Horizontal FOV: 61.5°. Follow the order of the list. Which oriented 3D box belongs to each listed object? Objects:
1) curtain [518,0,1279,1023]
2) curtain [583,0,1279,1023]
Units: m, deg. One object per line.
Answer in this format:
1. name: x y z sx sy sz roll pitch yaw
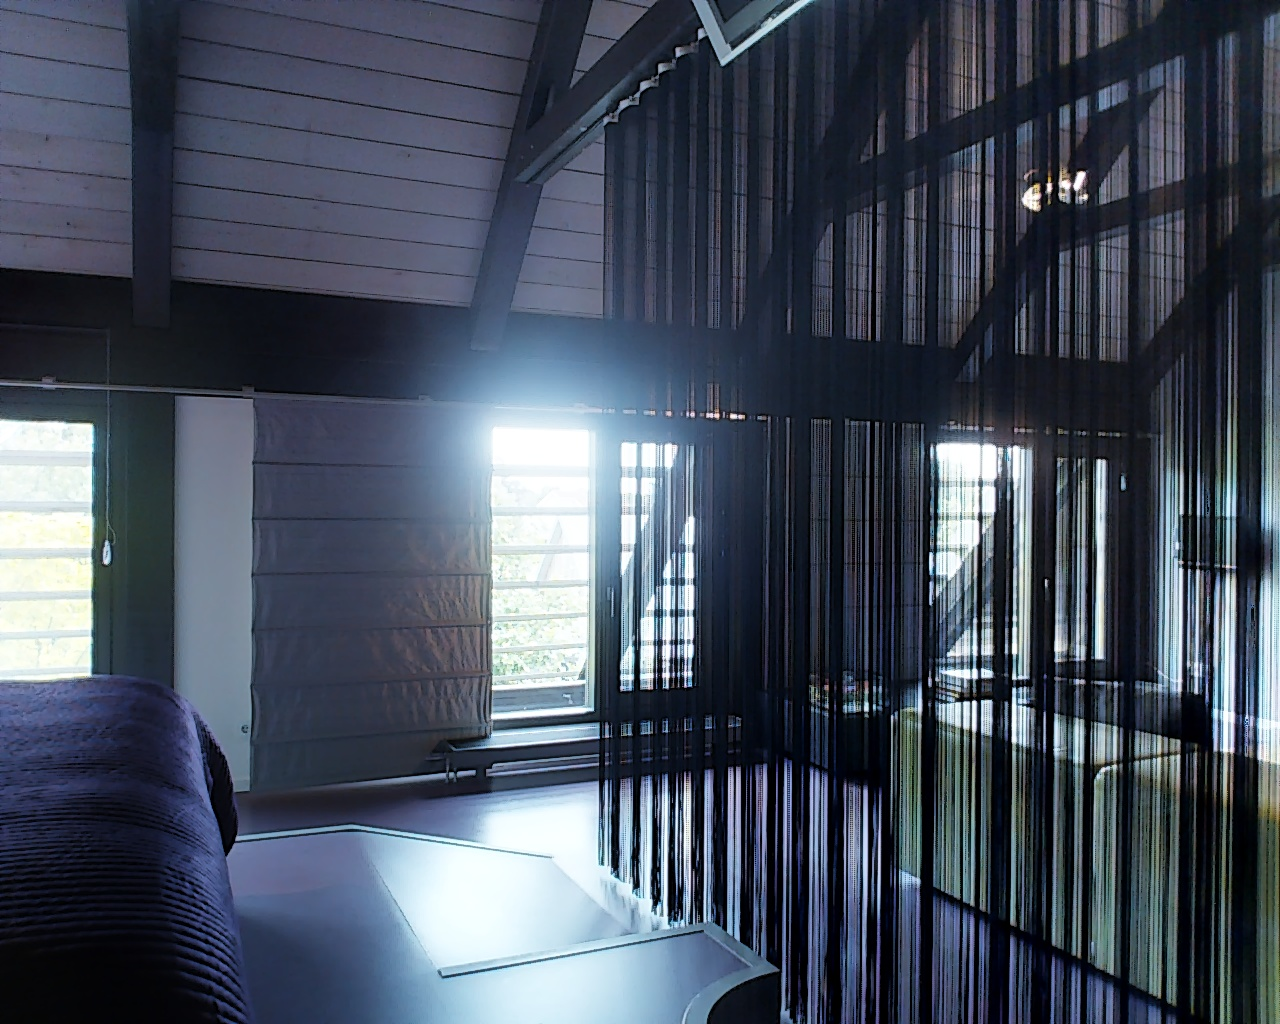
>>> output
1. curtain: 0.350 -0.110 2.630 0.390 2.830 3.000 1 0 -24
2. curtain: 0.440 -0.070 2.730 0.120 2.920 2.740 1 -6 -24
